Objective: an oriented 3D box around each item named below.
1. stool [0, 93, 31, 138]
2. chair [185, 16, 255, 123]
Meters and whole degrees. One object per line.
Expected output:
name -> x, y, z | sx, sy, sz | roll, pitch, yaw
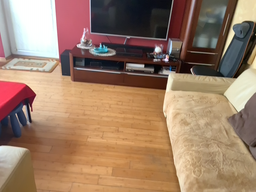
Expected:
stool -> -1.190, 0.190, 2.110 | 0.290, 0.310, 0.290 | 5, 29, -1
chair -> 1.120, -0.300, 2.590 | 0.510, 1.170, 0.440 | 6, 29, 0
